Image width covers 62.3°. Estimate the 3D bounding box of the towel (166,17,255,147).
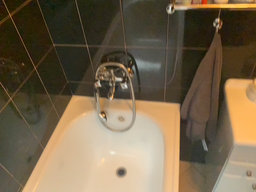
[{"bbox_3d":[0.360,-0.010,1.080,0.300,0.740,0.130,2,45,9],"label":"towel"}]
